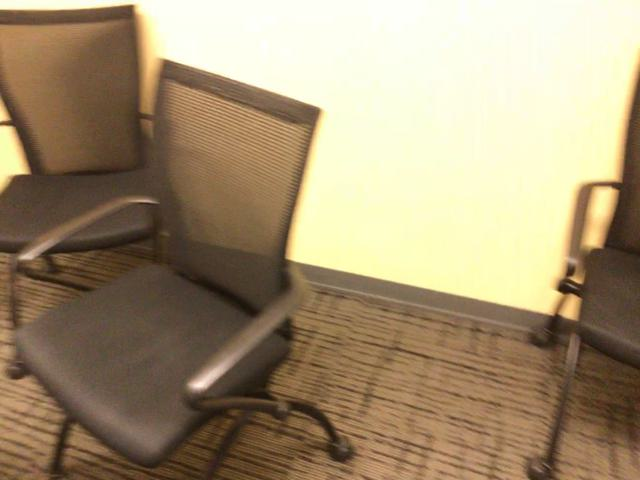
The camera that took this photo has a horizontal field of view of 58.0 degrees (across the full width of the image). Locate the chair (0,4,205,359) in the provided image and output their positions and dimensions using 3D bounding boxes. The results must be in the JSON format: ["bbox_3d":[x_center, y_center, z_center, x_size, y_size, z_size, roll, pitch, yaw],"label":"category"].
[{"bbox_3d":[-0.690,-0.190,1.720,0.600,0.860,0.580,-3,32,-8],"label":"chair"}]

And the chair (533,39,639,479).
[{"bbox_3d":[0.840,0.120,1.300,0.490,0.950,0.530,11,33,15],"label":"chair"}]

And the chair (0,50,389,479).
[{"bbox_3d":[-0.320,0.150,1.230,0.640,0.870,0.580,26,39,33],"label":"chair"}]
